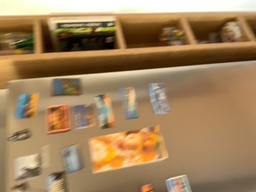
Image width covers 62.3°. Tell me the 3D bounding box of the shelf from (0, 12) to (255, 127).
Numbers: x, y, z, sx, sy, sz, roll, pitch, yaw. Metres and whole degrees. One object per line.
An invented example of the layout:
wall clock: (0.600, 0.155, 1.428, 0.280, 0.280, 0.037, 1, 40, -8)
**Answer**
shelf: (0.060, -0.140, 1.190, 0.640, 2.490, 0.210, 111, 150, -60)
